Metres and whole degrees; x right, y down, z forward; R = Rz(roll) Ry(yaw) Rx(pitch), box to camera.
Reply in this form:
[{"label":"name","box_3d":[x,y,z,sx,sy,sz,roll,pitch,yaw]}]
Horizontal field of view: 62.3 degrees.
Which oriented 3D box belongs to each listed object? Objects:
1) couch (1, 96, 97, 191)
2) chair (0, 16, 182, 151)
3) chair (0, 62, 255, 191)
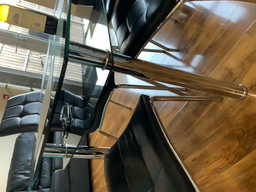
[{"label":"couch","box_3d":[-0.980,1.080,2.570,0.930,0.910,1.950,-61,31,36]},{"label":"chair","box_3d":[-0.270,0.000,1.400,0.630,0.960,0.390,-60,31,38]},{"label":"chair","box_3d":[0.010,0.340,0.660,0.420,0.960,0.640,-62,30,34]}]
